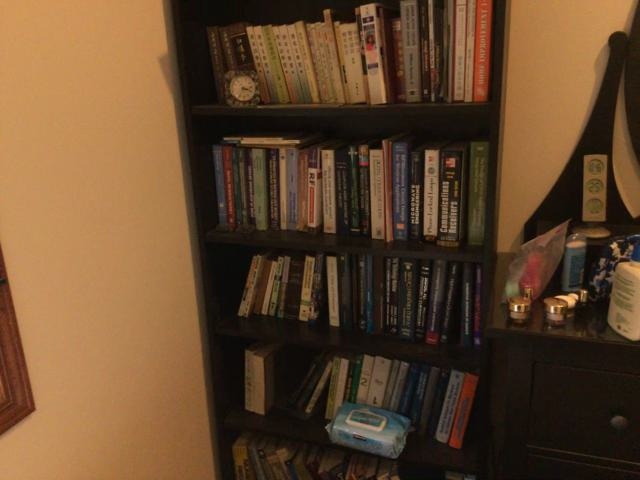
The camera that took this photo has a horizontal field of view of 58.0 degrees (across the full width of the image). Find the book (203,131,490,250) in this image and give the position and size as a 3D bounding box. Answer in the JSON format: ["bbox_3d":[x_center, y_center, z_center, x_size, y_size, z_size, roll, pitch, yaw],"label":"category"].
[{"bbox_3d":[0.070,-0.150,1.570,0.730,0.260,0.210,3,18,19],"label":"book"}]

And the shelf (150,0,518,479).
[{"bbox_3d":[0.070,0.010,1.590,0.830,1.970,0.350,3,18,19],"label":"shelf"}]

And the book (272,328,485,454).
[{"bbox_3d":[0.170,0.430,1.700,0.590,0.230,0.160,3,18,19],"label":"book"}]

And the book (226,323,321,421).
[{"bbox_3d":[-0.140,0.410,1.830,0.220,0.200,0.210,3,18,19],"label":"book"}]

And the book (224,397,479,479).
[{"bbox_3d":[0.100,0.730,1.810,0.740,0.270,0.250,3,18,19],"label":"book"}]

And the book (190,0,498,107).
[{"bbox_3d":[0.060,-0.490,1.460,0.730,0.270,0.210,3,18,19],"label":"book"}]

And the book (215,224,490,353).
[{"bbox_3d":[0.090,0.120,1.650,0.740,0.250,0.200,3,18,19],"label":"book"}]
